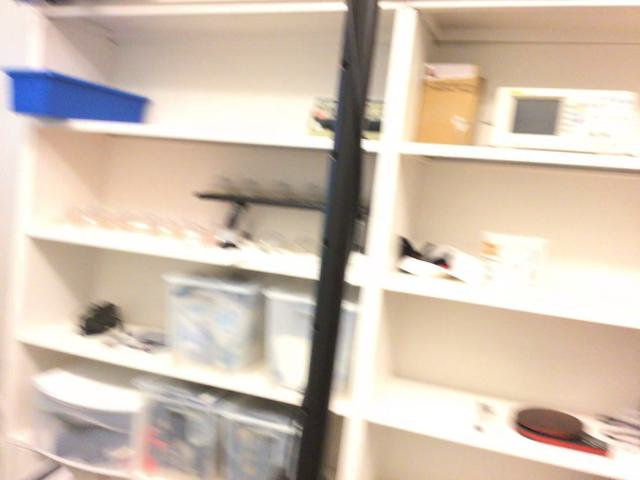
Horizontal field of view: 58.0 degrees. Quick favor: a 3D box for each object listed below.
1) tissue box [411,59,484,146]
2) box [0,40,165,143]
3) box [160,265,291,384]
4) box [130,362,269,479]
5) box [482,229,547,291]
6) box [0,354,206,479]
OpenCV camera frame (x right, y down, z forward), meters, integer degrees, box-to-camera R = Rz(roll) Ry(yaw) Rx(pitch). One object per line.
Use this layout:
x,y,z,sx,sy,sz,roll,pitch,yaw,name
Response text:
0.370,-0.390,1.670,0.170,0.210,0.170,4,2,20,tissue box
-0.760,-0.460,1.880,0.230,0.180,0.500,4,-2,21,box
-0.290,0.250,1.830,0.280,0.300,0.300,4,2,21,box
-0.380,0.600,1.860,0.320,0.310,0.280,4,2,21,box
0.530,0.050,1.570,0.150,0.150,0.140,4,2,21,box
-0.710,0.660,1.920,0.500,0.420,0.390,4,2,21,box
